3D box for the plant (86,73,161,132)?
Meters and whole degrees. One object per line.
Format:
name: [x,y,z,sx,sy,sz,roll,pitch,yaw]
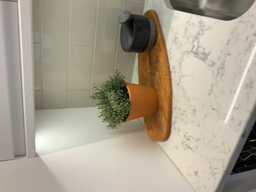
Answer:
plant: [-0.030,0.010,0.830,0.230,0.210,0.160,-145,57,-61]
